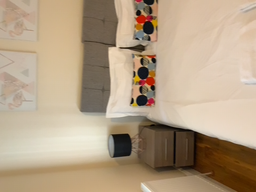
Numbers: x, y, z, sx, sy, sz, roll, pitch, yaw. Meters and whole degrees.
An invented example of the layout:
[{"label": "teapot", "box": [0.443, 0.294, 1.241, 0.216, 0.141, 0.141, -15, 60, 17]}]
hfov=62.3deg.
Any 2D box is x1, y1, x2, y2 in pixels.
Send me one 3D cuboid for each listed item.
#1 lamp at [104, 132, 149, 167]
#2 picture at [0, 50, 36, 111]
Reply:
[{"label": "lamp", "box": [-0.020, 0.580, 2.370, 0.320, 0.410, 0.280, -178, 90, -69]}, {"label": "picture", "box": [-1.140, -0.150, 2.130, 0.040, 0.370, 0.590, -175, 87, -69]}]
